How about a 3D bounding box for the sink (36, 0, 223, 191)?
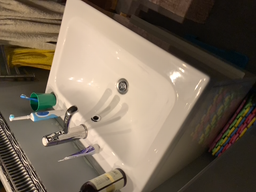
[{"bbox_3d":[-0.090,-0.030,0.770,0.630,0.120,0.490,39,119,31],"label":"sink"}]
